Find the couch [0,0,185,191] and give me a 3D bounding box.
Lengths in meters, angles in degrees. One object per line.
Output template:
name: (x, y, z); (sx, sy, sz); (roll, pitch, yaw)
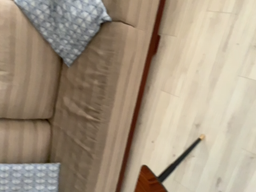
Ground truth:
couch: (-0.550, 0.170, 1.460); (1.090, 0.820, 2.020); (24, 107, 38)
